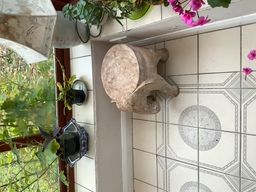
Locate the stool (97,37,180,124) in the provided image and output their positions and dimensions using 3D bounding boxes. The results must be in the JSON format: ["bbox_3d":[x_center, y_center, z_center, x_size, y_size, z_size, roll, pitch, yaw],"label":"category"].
[{"bbox_3d":[0.060,-0.080,1.200,0.350,0.300,0.400,2,94,44],"label":"stool"}]

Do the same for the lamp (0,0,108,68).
[{"bbox_3d":[-0.450,-0.350,1.080,0.290,0.660,0.380,5,96,44],"label":"lamp"}]
